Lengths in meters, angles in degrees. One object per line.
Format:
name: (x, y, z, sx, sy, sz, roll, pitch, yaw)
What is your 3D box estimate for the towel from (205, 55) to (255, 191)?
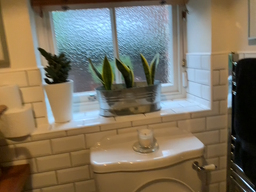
towel: (0.450, 0.080, 0.800, 0.150, 0.450, 0.310, -7, 13, -12)
